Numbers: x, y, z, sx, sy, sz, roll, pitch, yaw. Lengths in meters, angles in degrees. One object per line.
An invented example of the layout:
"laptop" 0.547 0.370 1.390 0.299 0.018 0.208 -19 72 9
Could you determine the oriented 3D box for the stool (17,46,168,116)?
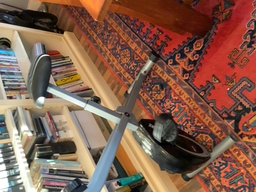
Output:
"stool" -0.140 -0.070 1.210 0.220 0.820 0.210 54 127 31
